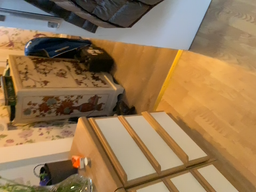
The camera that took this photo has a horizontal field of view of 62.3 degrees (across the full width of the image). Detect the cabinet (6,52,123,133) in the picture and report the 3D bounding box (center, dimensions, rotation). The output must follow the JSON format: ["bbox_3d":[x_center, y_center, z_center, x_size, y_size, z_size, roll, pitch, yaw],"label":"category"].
[{"bbox_3d":[-0.620,-0.060,2.030,0.600,0.890,0.420,49,129,42],"label":"cabinet"}]
